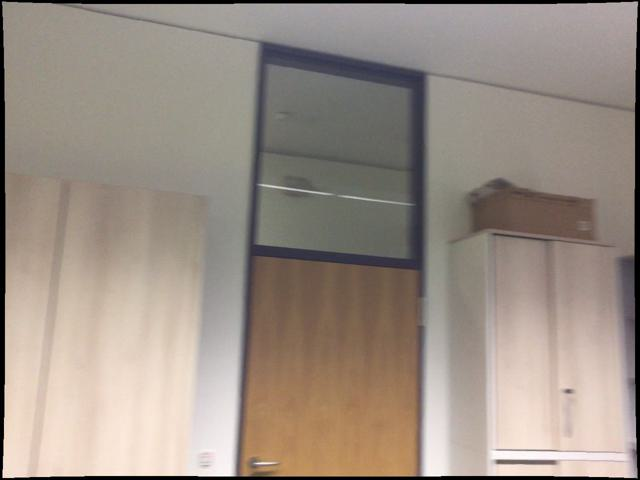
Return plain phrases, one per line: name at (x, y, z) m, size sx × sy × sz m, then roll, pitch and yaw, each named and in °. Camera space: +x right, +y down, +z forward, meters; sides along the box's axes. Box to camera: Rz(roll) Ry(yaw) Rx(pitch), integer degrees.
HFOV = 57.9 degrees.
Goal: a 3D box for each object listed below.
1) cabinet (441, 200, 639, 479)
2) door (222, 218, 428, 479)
cabinet at (1.129, 1.021, 2.940) m, size 0.849 × 2.302 × 0.550 m, roll 5°, pitch -10°, yaw -12°
door at (0.030, 1.011, 2.930) m, size 1.009 × 2.172 × 0.120 m, roll 5°, pitch -10°, yaw -12°
